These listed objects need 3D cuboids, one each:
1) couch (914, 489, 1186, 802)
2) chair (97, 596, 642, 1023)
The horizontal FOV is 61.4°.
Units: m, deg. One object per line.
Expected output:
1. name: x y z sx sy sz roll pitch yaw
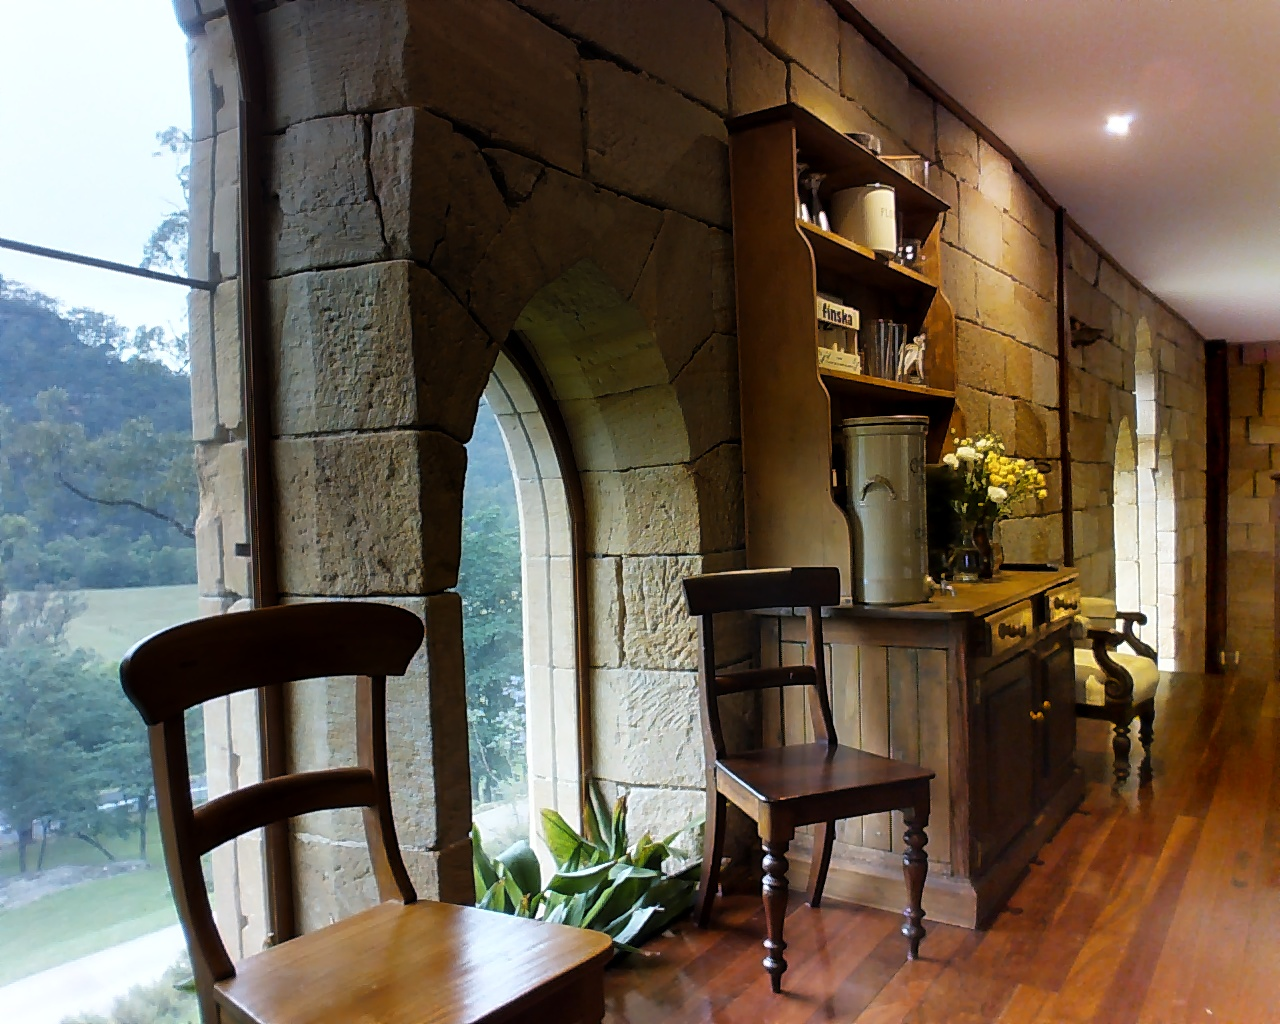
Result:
1. couch: 1.569 0.440 4.110 0.820 1.040 0.680 1 1 34
2. chair: -0.370 0.610 1.480 0.560 0.920 0.480 1 1 38
